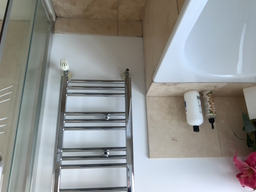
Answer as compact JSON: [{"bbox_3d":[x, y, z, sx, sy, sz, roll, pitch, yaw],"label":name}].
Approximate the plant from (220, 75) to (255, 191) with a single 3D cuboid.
[{"bbox_3d":[0.710,0.200,1.060,0.270,0.520,0.330,0,161,-3],"label":"plant"}]
